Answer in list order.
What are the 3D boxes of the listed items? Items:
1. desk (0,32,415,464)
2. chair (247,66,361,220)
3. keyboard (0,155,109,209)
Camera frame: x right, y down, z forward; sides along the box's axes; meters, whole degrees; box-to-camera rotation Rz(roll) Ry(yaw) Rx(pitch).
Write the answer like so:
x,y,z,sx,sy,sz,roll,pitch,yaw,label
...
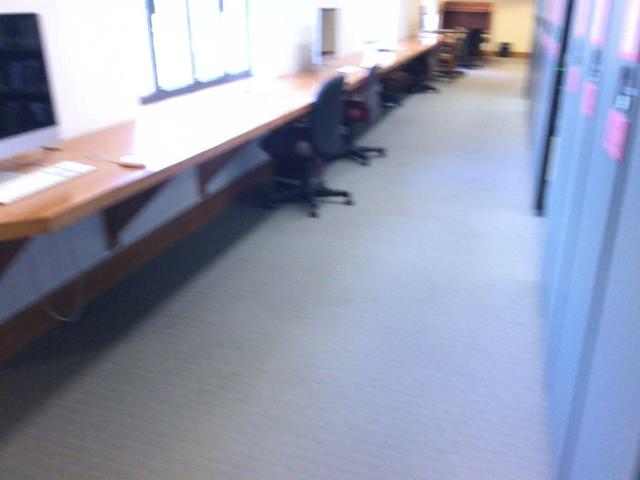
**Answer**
x,y,z,sx,sy,sz,roll,pitch,yaw,label
-0.240,-0.990,4.230,0.850,0.770,6.520,7,23,16,desk
-0.090,-0.680,3.920,0.580,0.890,0.600,7,23,16,chair
-0.910,-0.200,1.890,0.170,0.040,0.470,7,23,16,keyboard
